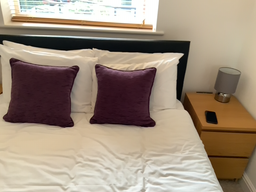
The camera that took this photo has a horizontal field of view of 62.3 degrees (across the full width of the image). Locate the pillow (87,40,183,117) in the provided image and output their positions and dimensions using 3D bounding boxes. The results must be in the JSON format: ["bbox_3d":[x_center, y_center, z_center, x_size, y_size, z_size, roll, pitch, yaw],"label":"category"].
[{"bbox_3d":[0.050,-0.110,1.450,0.560,0.400,0.170,-10,3,6],"label":"pillow"}]

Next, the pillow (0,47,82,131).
[{"bbox_3d":[-0.520,-0.030,1.270,0.370,0.380,0.170,-16,-7,13],"label":"pillow"}]

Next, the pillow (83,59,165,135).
[{"bbox_3d":[-0.020,0.010,1.320,0.410,0.360,0.170,-13,-1,5],"label":"pillow"}]

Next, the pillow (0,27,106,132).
[{"bbox_3d":[-0.520,-0.100,1.400,0.630,0.530,0.230,-10,4,2],"label":"pillow"}]
